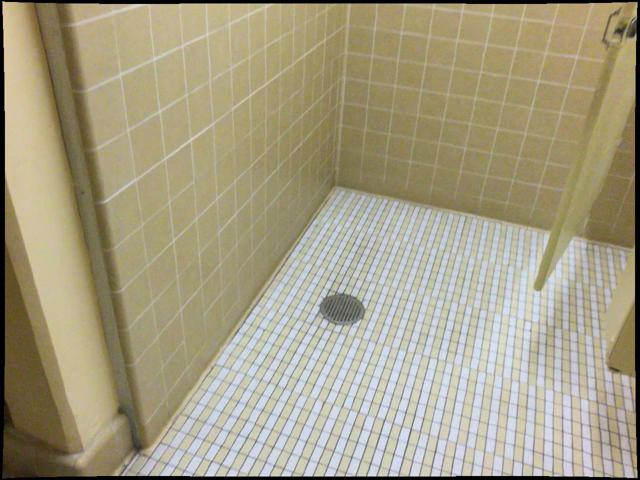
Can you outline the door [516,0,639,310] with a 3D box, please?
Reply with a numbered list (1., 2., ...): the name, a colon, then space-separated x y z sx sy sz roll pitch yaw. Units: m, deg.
1. door: 0.878 -0.662 1.540 0.090 1.563 0.880 21 39 24
